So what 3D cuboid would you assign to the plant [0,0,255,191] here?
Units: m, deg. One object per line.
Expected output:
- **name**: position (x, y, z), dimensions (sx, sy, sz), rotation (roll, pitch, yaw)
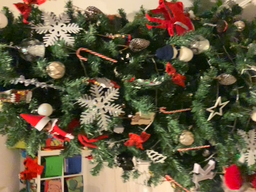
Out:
- **plant**: position (0.000, 0.040, 1.150), dimensions (1.130, 1.710, 1.110), rotation (13, 97, 58)
